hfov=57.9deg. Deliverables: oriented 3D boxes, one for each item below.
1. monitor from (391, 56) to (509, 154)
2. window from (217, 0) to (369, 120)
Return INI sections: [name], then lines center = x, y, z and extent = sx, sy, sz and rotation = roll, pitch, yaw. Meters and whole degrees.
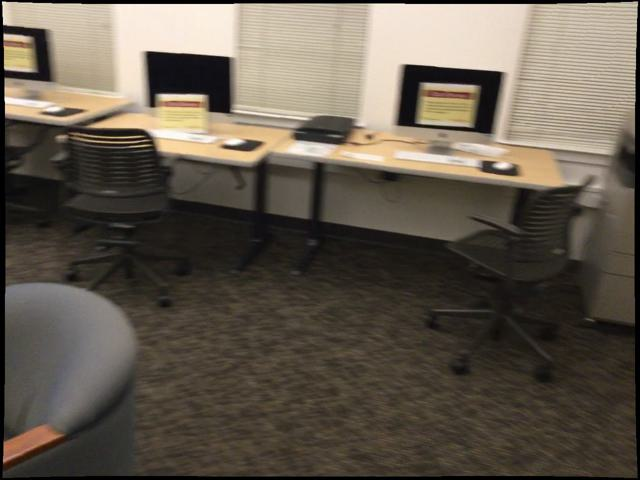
[monitor]
center = 0.679, -0.721, 3.060
extent = 0.540, 0.420, 0.220
rotation = 9, 25, 12
[window]
center = -0.170, -1.221, 3.440
extent = 0.869, 0.891, 0.180
rotation = 9, 25, 12
